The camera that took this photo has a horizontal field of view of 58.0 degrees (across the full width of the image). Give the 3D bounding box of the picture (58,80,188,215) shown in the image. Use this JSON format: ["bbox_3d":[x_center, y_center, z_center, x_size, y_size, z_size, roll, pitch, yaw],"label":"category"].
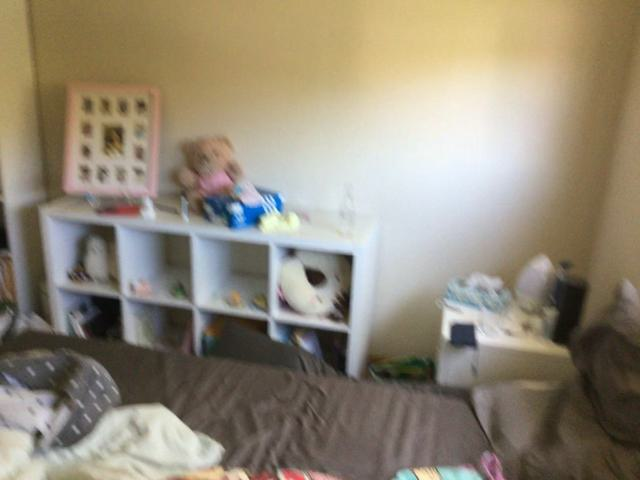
[{"bbox_3d":[-0.860,-0.430,2.590,0.390,0.520,0.350,7,19,14],"label":"picture"}]

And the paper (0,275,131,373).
[{"bbox_3d":[-1.370,0.400,2.900,0.630,0.210,0.480,7,19,14],"label":"paper"}]

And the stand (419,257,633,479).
[{"bbox_3d":[0.710,0.480,2.120,0.580,0.660,0.450,7,19,14],"label":"stand"}]
